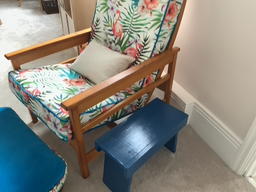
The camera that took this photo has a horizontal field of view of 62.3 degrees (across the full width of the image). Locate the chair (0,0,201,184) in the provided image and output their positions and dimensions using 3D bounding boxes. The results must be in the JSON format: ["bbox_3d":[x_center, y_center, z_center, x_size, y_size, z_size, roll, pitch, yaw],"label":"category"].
[{"bbox_3d":[-0.160,-0.220,1.250,0.900,0.880,0.620,-29,48,-34],"label":"chair"}]
